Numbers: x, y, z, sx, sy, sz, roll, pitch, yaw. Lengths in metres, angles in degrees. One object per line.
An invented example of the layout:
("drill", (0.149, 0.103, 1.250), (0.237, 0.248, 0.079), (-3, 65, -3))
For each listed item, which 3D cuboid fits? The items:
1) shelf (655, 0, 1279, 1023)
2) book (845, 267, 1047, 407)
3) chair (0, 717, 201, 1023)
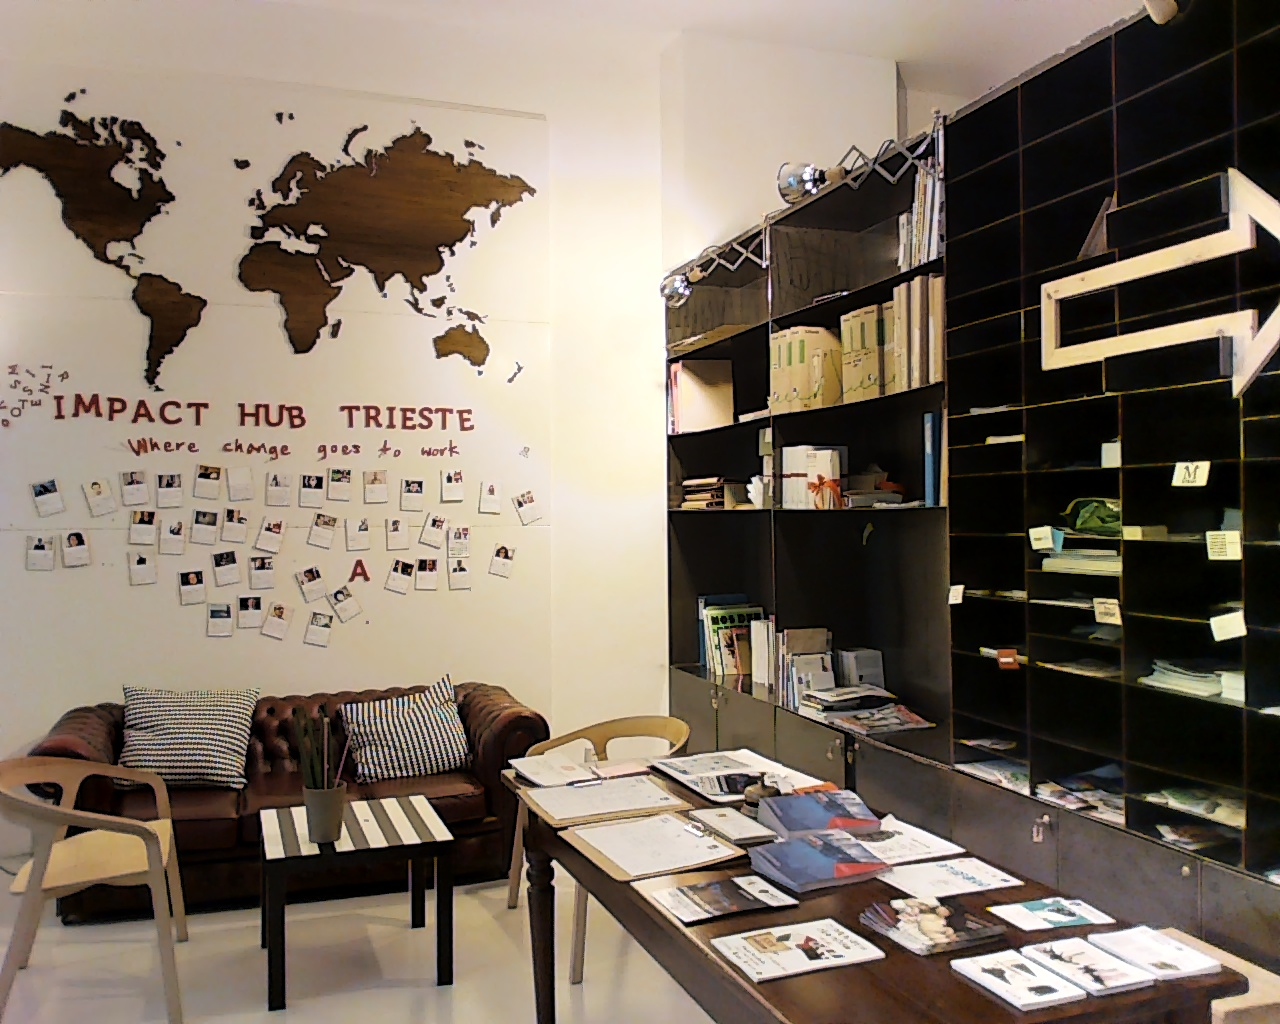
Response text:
("shelf", (1.140, 0.070, 3.320), (0.640, 2.751, 4.580), (0, 0, -19))
("book", (1.030, -0.580, 3.710), (0.370, 0.360, 0.680), (0, 0, -15))
("chair", (-1.650, 1.060, 3.280), (0.560, 0.700, 0.730), (0, 0, -21))
